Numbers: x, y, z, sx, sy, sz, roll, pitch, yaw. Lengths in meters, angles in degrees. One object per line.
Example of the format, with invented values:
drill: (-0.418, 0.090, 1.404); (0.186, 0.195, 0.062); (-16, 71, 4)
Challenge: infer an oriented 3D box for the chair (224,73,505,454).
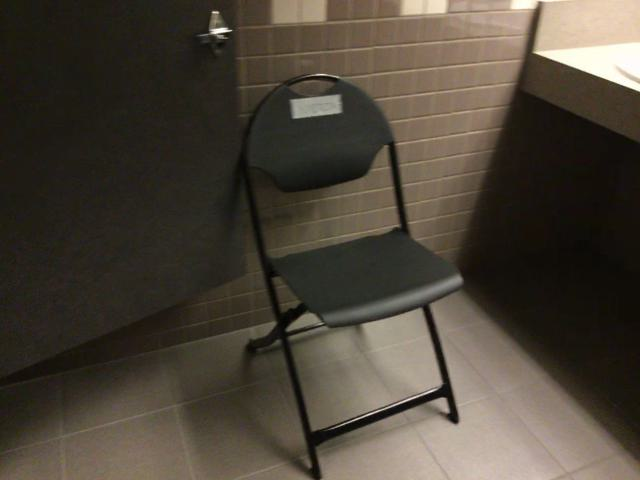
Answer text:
chair: (0.070, 0.020, 1.550); (0.460, 0.780, 0.560); (-11, 29, -21)
